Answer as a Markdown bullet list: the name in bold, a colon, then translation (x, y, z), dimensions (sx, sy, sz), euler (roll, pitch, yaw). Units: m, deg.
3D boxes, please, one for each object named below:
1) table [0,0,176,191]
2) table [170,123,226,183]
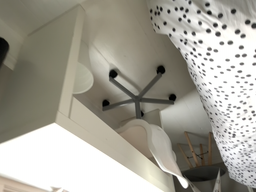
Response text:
- **table**: translation (-0.180, 0.180, 1.410), dimensions (0.490, 0.790, 1.210), euler (-21, 139, 21)
- **table**: translation (0.780, 0.650, 2.370), dimensions (0.390, 0.420, 0.510), euler (-22, 138, 21)
